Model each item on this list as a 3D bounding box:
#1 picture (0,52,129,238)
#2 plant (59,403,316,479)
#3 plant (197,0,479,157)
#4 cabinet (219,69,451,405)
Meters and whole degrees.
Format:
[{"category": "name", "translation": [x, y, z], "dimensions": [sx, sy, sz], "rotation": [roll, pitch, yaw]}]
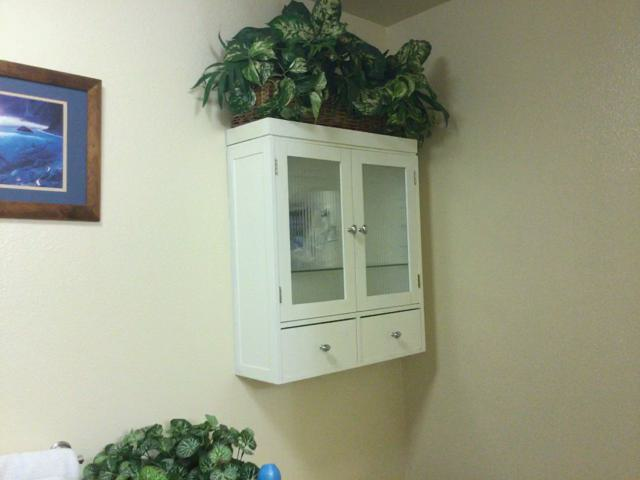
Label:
[{"category": "picture", "translation": [-0.640, -0.200, 1.240], "dimensions": [0.450, 0.380, 0.050], "rotation": [1, -5, -44]}, {"category": "plant", "translation": [-0.290, 0.600, 1.280], "dimensions": [0.420, 0.350, 0.380], "rotation": [1, -5, -44]}, {"category": "plant", "translation": [0.080, -0.470, 1.690], "dimensions": [0.760, 0.300, 0.390], "rotation": [1, -5, -44]}, {"category": "cabinet", "translation": [0.070, 0.000, 1.750], "dimensions": [0.690, 0.830, 0.250], "rotation": [1, -5, -44]}]
